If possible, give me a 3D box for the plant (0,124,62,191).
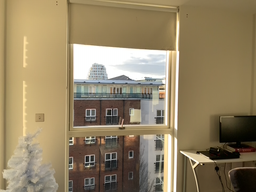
[{"bbox_3d":[-0.910,0.880,1.940,0.530,1.140,0.590,0,2,-22],"label":"plant"}]
